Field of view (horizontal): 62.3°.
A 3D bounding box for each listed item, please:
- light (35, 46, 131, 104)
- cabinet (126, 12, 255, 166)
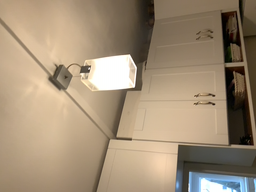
[{"bbox_3d":[-0.180,-0.090,0.930,0.160,0.350,0.180,74,-158,-65],"label":"light"},{"bbox_3d":[0.500,-0.110,1.660,0.350,0.750,1.130,63,-147,-49],"label":"cabinet"}]
